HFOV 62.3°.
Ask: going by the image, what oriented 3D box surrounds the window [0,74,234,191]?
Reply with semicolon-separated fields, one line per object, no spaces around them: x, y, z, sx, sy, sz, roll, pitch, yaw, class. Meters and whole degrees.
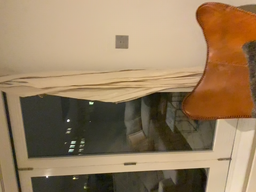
-0.070;0.970;2.090;0.140;1.860;2.370;-111;22;-71;window
